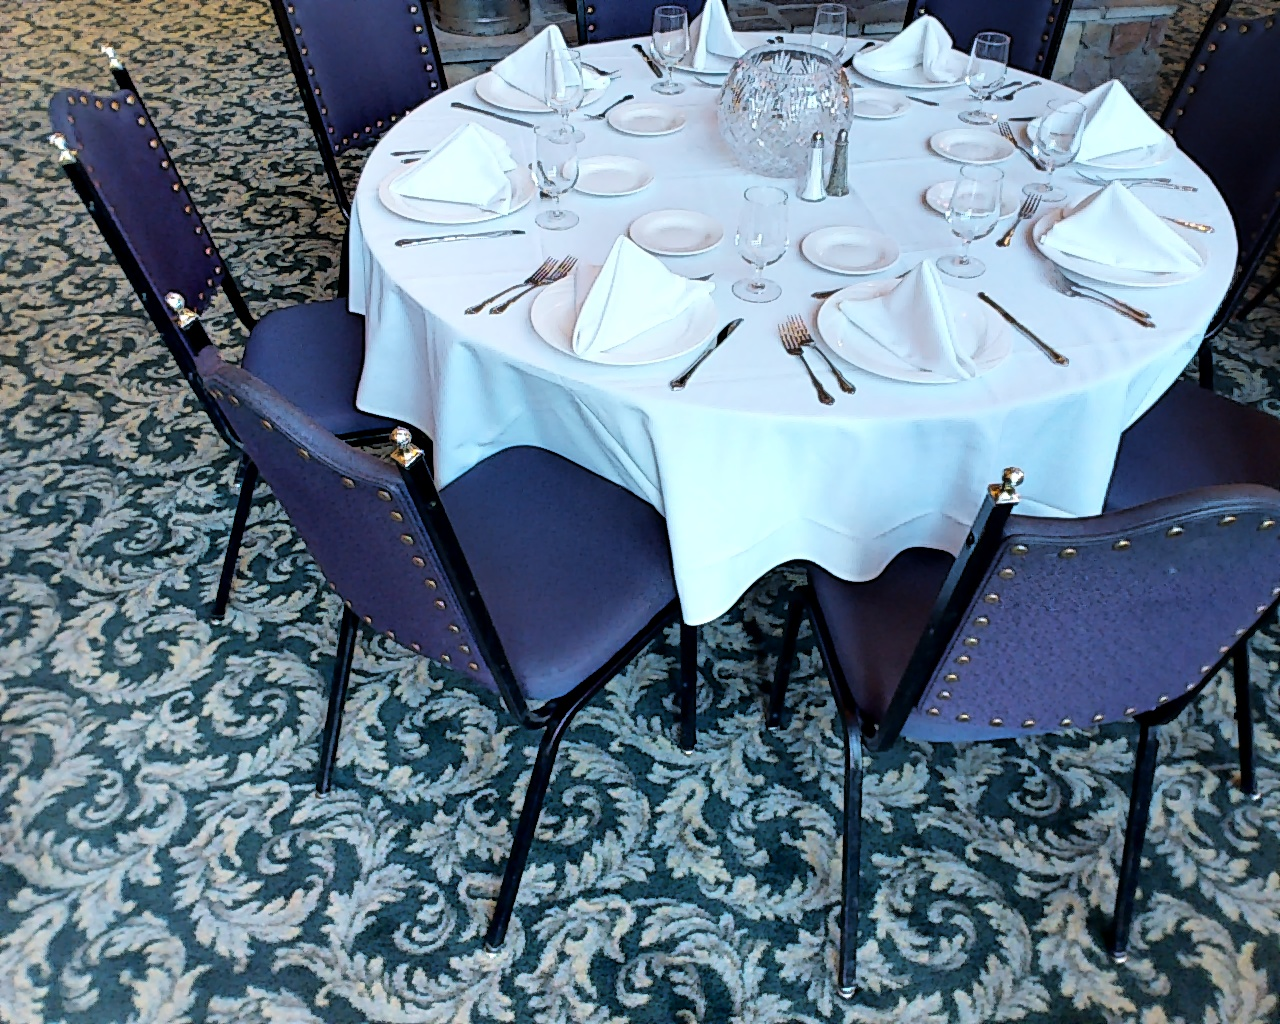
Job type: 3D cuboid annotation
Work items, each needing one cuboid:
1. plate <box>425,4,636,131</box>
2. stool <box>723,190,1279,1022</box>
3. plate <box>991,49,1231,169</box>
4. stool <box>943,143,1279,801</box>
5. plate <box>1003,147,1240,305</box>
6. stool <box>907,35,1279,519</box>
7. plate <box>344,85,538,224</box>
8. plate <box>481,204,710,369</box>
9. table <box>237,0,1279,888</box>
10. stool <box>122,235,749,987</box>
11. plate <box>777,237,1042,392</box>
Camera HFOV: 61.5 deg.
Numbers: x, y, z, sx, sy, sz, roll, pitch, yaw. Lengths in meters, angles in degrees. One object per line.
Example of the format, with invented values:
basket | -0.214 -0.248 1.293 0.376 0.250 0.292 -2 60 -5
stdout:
plate | -0.220 -0.920 2.210 0.310 0.110 0.290 28 48 28
stool | 0.490 0.130 1.540 0.540 0.880 0.720 -6 42 -8
plate | 0.860 -0.750 1.990 0.300 0.100 0.260 -10 42 -12
stool | 0.990 -0.080 1.850 0.580 0.800 0.570 27 48 27
plate | 0.760 -0.460 1.700 0.260 0.080 0.280 26 47 26
stool | 1.000 -0.510 2.330 0.480 0.780 0.600 -10 42 -12
plate | -0.340 -0.620 1.850 0.300 0.110 0.280 -6 42 -7
plate | -0.060 -0.330 1.540 0.210 0.080 0.250 27 48 27
table | 0.260 -0.410 2.180 1.830 0.770 1.730 -9 42 -10
stool | -0.250 0.140 1.590 0.570 0.810 0.510 28 48 28
plate | 0.360 -0.280 1.490 0.280 0.070 0.260 -5 42 -7
